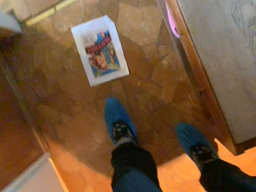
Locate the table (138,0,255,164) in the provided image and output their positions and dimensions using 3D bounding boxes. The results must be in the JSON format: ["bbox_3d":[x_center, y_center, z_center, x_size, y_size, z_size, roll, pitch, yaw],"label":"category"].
[{"bbox_3d":[0.330,-0.260,0.750,0.410,0.540,0.700,-23,95,6],"label":"table"}]
